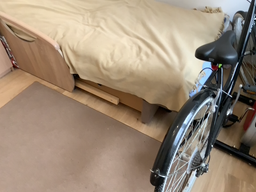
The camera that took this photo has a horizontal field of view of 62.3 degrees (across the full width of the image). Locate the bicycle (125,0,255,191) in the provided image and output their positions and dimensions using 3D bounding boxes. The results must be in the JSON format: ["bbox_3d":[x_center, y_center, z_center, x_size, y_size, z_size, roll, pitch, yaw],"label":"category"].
[{"bbox_3d":[0.480,-0.040,1.210,0.270,0.720,1.490,24,51,19],"label":"bicycle"}]
